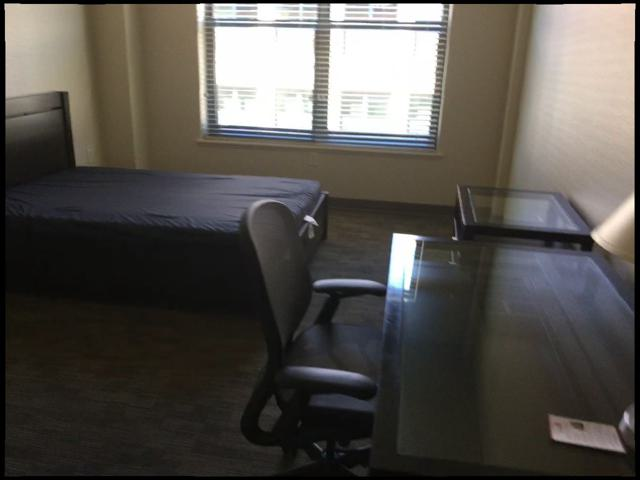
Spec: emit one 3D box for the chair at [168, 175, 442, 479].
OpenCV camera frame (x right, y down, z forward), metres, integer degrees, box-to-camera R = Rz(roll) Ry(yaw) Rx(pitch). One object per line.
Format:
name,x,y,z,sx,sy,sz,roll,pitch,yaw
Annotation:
chair,0.020,0.391,1.720,0.589,0.982,0.720,5,21,11
